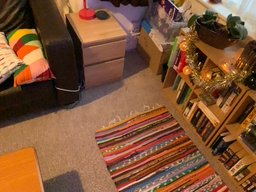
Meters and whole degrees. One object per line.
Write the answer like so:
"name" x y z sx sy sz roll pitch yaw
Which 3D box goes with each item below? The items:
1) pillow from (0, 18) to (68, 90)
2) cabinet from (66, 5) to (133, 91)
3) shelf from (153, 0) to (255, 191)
"pillow" -0.700 -0.300 1.380 0.470 0.120 0.380 38 54 23
"cabinet" -0.260 -0.420 1.830 0.380 0.480 0.500 -15 52 -20
"shelf" 0.770 0.050 1.390 0.410 0.740 1.510 -15 52 -20
